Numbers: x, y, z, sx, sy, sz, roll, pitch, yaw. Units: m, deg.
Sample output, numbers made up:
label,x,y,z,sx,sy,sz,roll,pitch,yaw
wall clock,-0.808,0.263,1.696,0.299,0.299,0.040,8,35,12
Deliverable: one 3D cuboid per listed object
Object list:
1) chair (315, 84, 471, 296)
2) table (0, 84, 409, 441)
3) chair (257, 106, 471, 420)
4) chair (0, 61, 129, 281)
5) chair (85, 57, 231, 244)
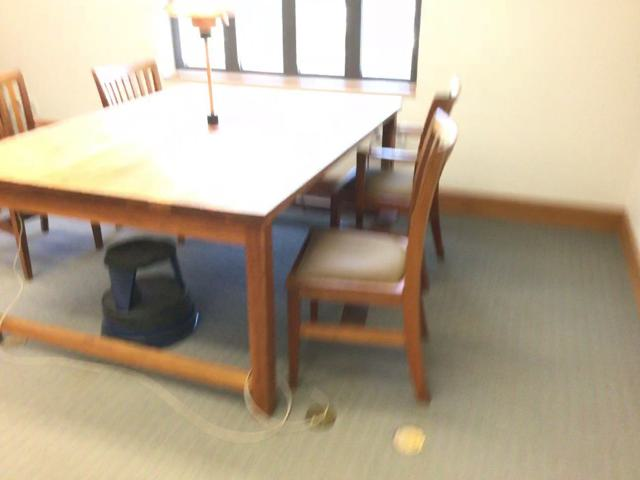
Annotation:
label,x,y,z,sx,sy,sz,roll,pitch,yaw
chair,0.360,-0.280,2.810,0.600,0.900,0.530,7,17,17
table,-0.460,-0.150,2.670,1.390,0.950,1.730,7,20,17
chair,0.180,0.030,2.160,0.610,0.950,0.620,7,20,17
chair,-1.500,-0.400,2.950,0.630,0.950,0.700,7,20,17
chair,-0.890,-0.540,3.320,0.530,0.950,0.550,7,20,17
